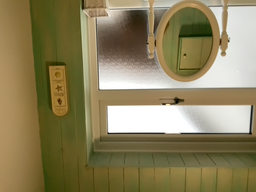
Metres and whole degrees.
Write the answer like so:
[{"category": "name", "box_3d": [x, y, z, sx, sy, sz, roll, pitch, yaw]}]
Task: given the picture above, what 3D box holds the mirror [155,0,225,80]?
[{"category": "mirror", "box_3d": [0.350, -0.330, 1.260, 0.360, 0.460, 0.140, 0, -171, 3]}]
